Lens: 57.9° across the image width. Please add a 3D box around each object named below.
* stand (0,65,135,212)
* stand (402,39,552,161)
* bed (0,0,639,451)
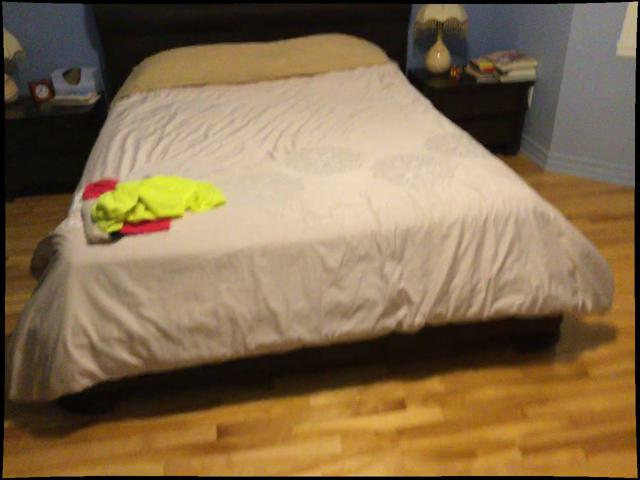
[{"bbox_3d":[-1.469,-0.591,3.260,0.639,0.580,0.590,-8,31,-6],"label":"stand"},{"bbox_3d":[0.899,-0.851,3.460,0.689,0.510,0.520,-8,31,-6],"label":"stand"},{"bbox_3d":[-0.170,-0.511,2.520,1.958,1.031,2.271,-8,31,-6],"label":"bed"}]
